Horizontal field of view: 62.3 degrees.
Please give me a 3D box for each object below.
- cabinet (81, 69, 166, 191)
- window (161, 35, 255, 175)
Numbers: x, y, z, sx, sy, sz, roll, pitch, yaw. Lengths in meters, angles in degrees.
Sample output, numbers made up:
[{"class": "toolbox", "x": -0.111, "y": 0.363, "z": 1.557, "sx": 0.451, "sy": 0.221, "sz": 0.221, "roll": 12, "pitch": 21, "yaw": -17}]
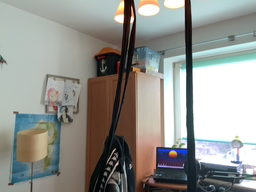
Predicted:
[{"class": "cabinet", "x": -0.050, "y": 0.750, "z": 2.670, "sx": 0.820, "sy": 2.000, "sz": 0.680, "roll": -3, "pitch": -6, "yaw": 38}, {"class": "window", "x": 1.180, "y": 0.100, "z": 2.490, "sx": 1.640, "sy": 1.470, "sz": 0.220, "roll": -3, "pitch": -6, "yaw": 36}]
